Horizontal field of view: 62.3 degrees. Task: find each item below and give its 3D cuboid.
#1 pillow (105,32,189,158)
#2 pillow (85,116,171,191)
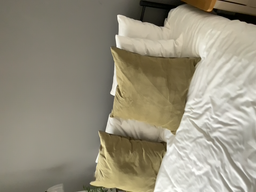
[{"bbox_3d":[0.110,-0.030,1.210,0.200,0.500,0.520,23,126,21],"label":"pillow"},{"bbox_3d":[0.000,0.490,1.420,0.230,0.500,0.540,28,124,42],"label":"pillow"}]
